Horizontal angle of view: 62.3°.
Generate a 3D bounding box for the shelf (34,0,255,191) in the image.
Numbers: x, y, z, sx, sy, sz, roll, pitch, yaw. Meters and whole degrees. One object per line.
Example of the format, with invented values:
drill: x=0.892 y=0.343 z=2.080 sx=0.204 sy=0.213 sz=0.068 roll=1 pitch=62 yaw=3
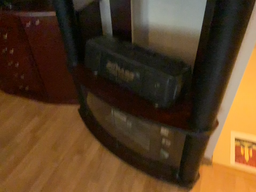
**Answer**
shelf: x=0.050 y=-0.440 z=0.970 sx=0.990 sy=1.950 sz=0.520 roll=30 pitch=51 yaw=31
